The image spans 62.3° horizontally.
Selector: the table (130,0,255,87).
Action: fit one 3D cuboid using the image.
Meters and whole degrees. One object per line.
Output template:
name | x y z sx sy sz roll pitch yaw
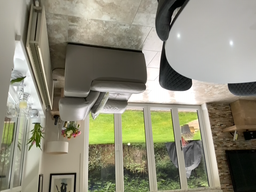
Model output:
table | 0.970 -0.710 1.470 1.550 0.770 1.430 3 161 -15
